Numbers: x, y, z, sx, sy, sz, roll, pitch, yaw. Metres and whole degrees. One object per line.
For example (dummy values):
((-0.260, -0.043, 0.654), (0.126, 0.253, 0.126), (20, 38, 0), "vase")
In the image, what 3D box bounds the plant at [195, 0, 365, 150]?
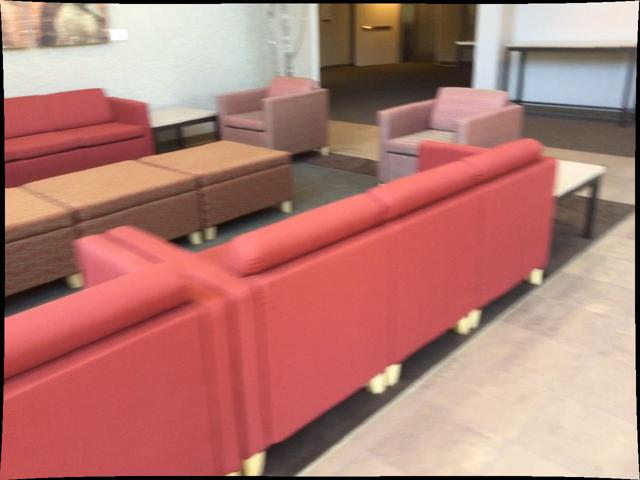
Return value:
((-0.409, -2.765, 6.080), (1.019, 3.265, 1.519), (19, 29, 41), "plant")

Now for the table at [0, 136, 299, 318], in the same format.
((-1.268, -0.170, 3.550), (0.819, 0.461, 2.348), (19, 29, 41), "table")
